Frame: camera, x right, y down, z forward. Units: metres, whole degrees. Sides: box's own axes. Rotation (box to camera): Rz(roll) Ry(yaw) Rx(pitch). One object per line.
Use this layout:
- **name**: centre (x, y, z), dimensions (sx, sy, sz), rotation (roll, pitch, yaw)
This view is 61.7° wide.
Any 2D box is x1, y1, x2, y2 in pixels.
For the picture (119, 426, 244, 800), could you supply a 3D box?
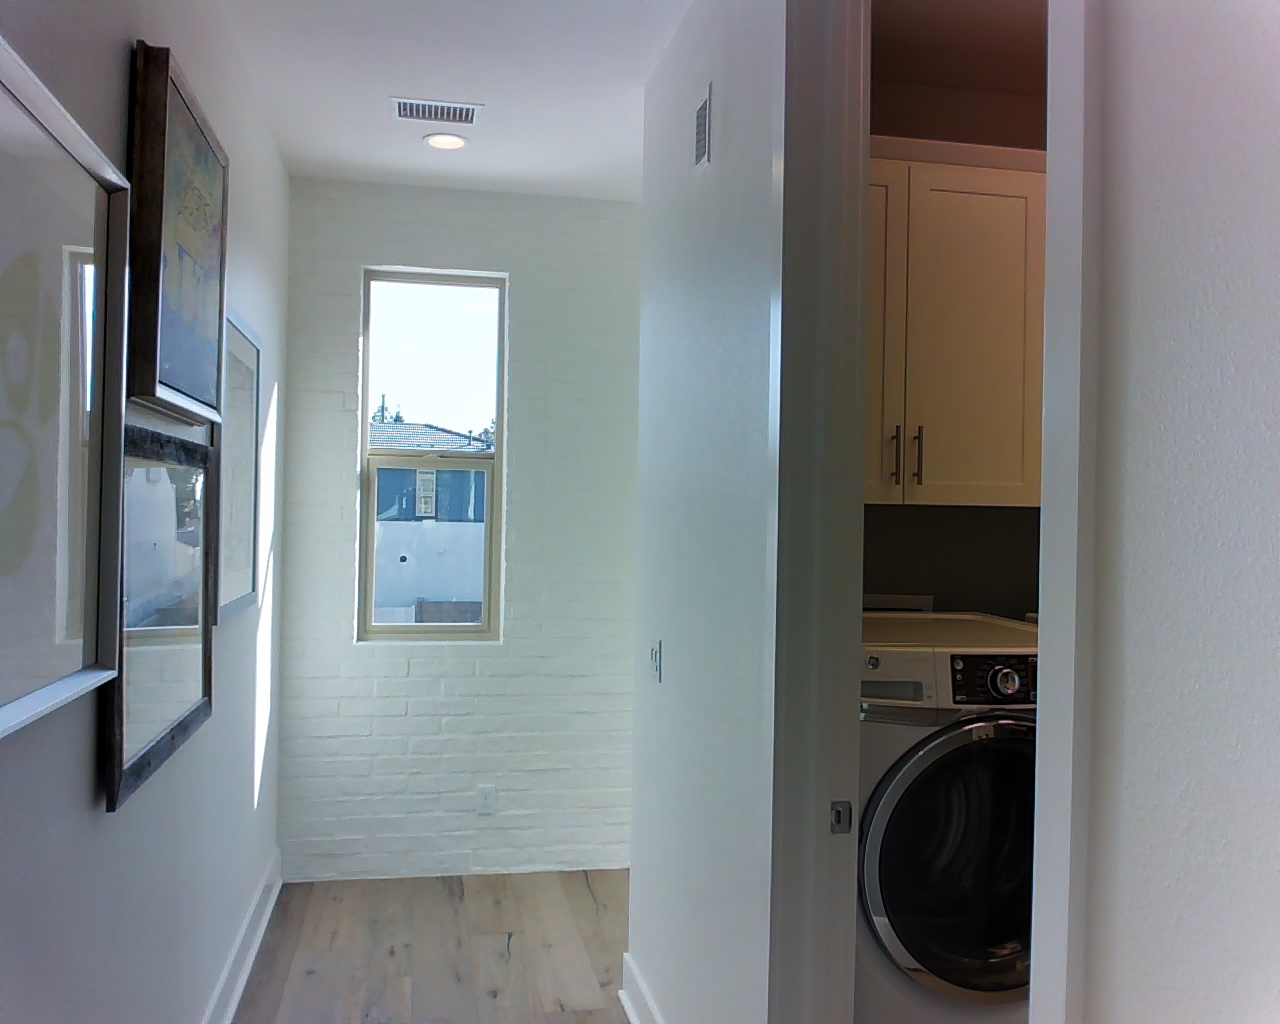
- **picture**: centre (-0.930, 0.170, 2.230), dimensions (0.040, 0.630, 0.850), rotation (2, 0, -11)

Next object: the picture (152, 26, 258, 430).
- **picture**: centre (-0.890, -0.530, 2.230), dimensions (0.060, 0.670, 0.650), rotation (2, 0, -11)

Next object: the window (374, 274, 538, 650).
- **window**: centre (-0.760, -0.190, 4.430), dimensions (0.600, 1.481, 0.310), rotation (2, 0, -10)

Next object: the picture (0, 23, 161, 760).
- **picture**: centre (-0.760, -0.120, 1.410), dimensions (0.050, 0.780, 0.720), rotation (2, 0, -11)
